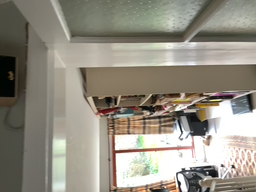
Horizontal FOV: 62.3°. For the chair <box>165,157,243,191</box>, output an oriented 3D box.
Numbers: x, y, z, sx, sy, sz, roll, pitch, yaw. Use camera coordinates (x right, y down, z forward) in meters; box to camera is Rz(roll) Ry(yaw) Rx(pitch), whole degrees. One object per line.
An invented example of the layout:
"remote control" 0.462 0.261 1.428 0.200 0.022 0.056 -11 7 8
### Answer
"chair" 1.310 1.550 3.780 0.660 1.050 0.690 101 166 -61
